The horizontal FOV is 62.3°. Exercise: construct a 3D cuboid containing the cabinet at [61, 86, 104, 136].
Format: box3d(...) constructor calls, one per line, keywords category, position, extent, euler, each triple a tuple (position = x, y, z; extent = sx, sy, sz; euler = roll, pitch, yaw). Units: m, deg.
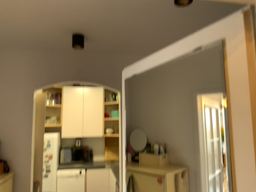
box3d(category="cabinet", position=(-0.850, 0.290, 4.030), extent=(0.760, 0.910, 0.290), euler=(1, -7, -10))
